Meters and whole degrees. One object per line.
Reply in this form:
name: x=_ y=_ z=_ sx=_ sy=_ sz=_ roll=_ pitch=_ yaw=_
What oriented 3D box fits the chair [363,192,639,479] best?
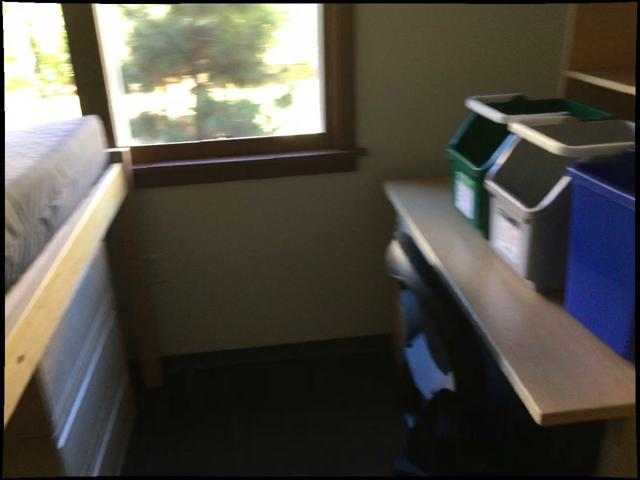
chair: x=0.409 y=0.411 z=1.450 sx=0.489 sy=0.892 sz=0.550 roll=-5 pitch=25 yaw=-7

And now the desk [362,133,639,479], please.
desk: x=0.698 y=0.301 z=1.710 sx=0.868 sy=0.862 sz=1.371 roll=-5 pitch=25 yaw=-7
